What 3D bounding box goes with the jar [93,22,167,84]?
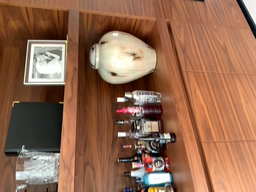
[{"bbox_3d":[-0.010,-0.310,1.610,0.270,0.490,0.330,116,152,-60],"label":"jar"}]
